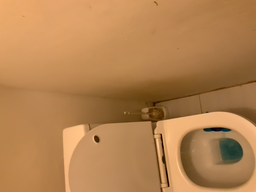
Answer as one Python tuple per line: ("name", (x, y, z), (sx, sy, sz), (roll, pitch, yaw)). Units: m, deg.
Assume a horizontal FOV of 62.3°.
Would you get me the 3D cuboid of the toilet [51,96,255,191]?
("toilet", (0.230, 0.290, 0.930), (0.680, 0.840, 0.390), (-14, 76, 40))
